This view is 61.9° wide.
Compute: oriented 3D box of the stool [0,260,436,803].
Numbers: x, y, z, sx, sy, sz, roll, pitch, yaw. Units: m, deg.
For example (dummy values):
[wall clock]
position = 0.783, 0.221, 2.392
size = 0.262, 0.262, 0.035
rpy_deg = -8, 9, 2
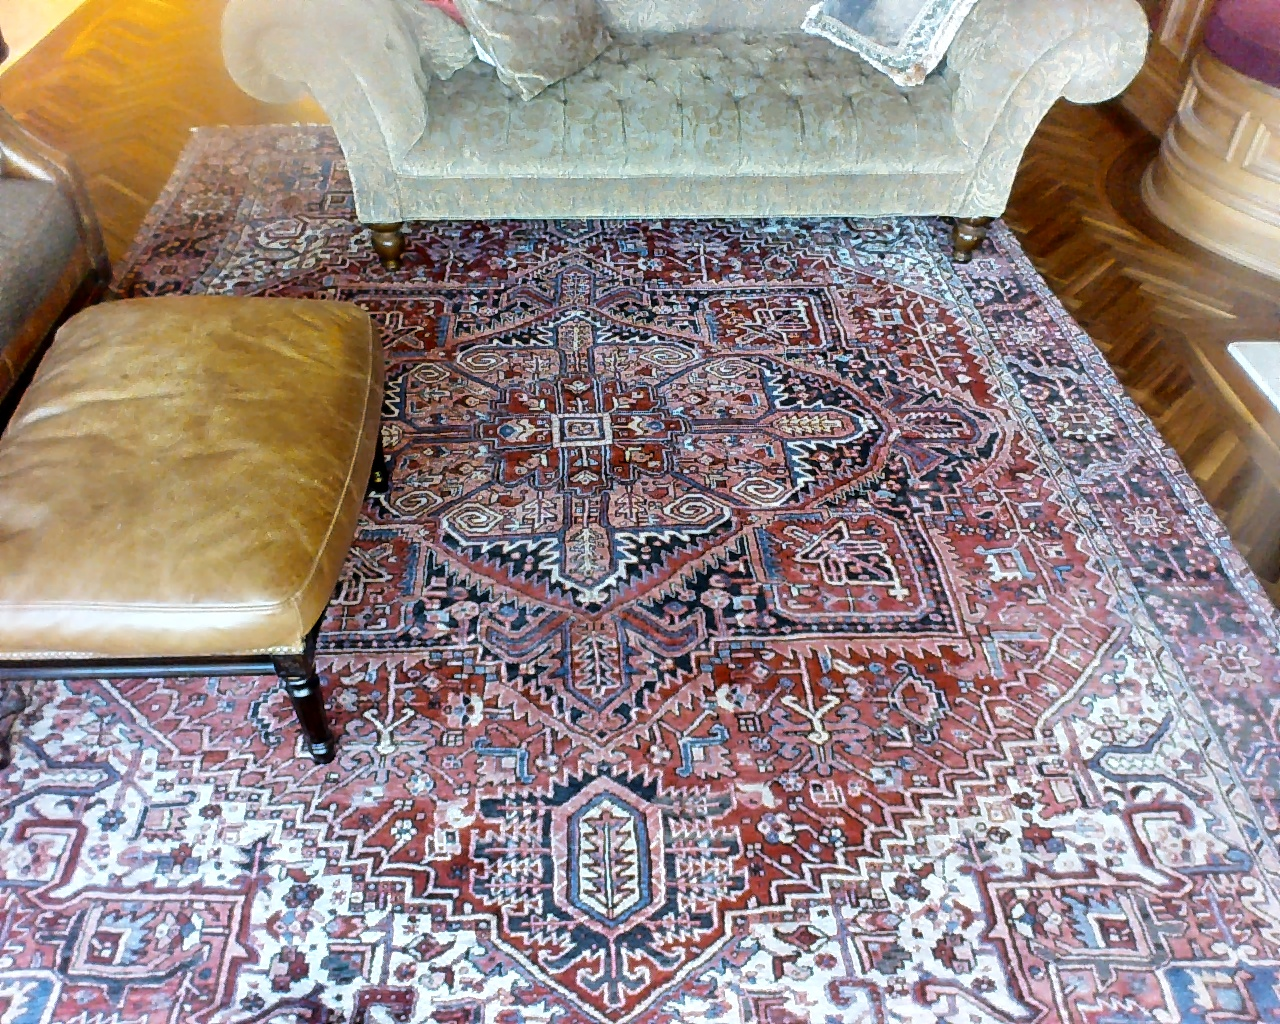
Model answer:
[stool]
position = -0.760, -0.010, 1.810
size = 0.690, 0.470, 0.840
rpy_deg = -1, 41, -3
